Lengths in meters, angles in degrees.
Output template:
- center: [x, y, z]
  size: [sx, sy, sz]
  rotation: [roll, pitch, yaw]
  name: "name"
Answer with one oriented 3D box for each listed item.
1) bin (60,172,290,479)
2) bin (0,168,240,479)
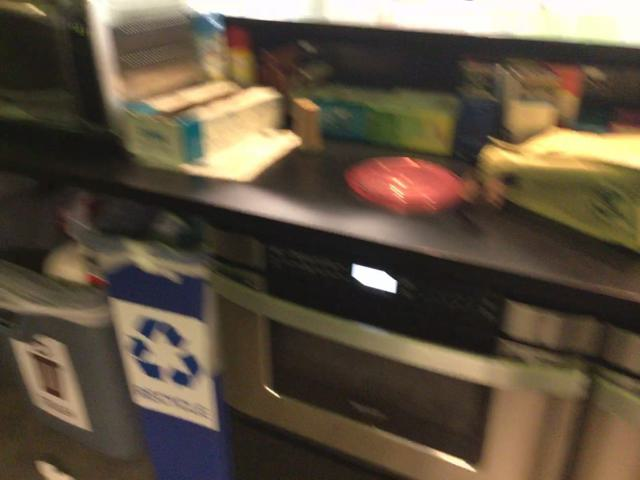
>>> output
- center: [-0.290, 0.280, 1.330]
  size: [0.340, 0.770, 0.290]
  rotation: [14, 30, 23]
  name: "bin"
- center: [-0.650, 0.210, 1.630]
  size: [0.620, 0.590, 0.540]
  rotation: [14, 30, 23]
  name: "bin"
